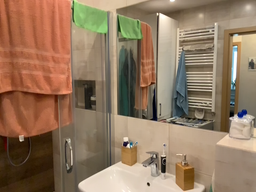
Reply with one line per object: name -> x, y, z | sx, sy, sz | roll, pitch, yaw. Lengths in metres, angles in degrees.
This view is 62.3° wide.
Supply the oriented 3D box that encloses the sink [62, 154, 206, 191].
sink -> 0.020, 0.560, 1.220 | 0.690, 0.160, 0.450 | 4, 8, 38
